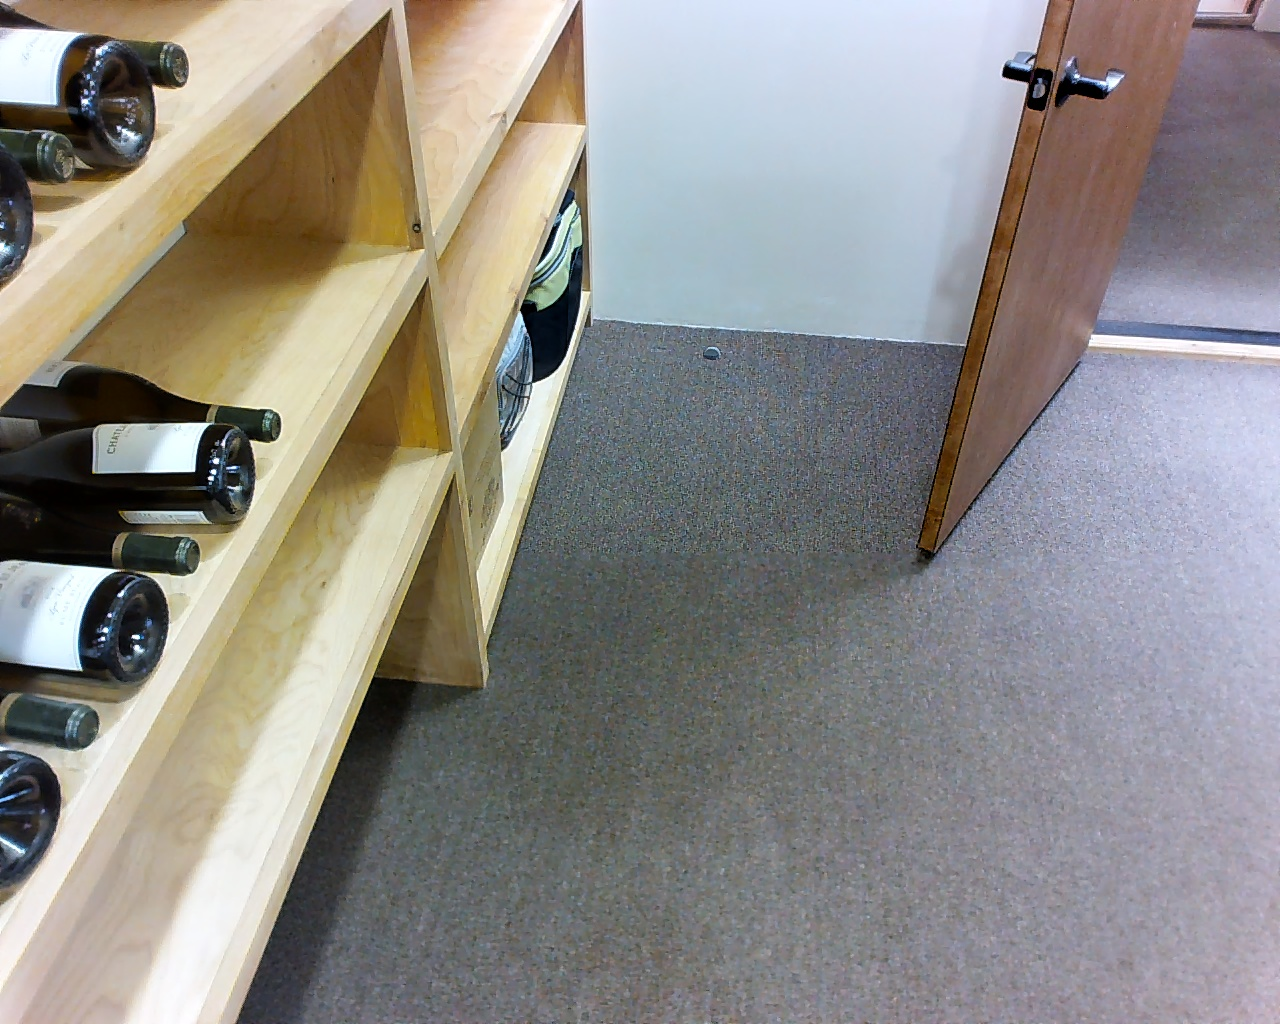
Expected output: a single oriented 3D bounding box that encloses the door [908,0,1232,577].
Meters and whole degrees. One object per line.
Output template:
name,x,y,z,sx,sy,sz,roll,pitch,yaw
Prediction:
door,0.850,-0.910,1.710,0.070,2.040,0.960,26,47,27
